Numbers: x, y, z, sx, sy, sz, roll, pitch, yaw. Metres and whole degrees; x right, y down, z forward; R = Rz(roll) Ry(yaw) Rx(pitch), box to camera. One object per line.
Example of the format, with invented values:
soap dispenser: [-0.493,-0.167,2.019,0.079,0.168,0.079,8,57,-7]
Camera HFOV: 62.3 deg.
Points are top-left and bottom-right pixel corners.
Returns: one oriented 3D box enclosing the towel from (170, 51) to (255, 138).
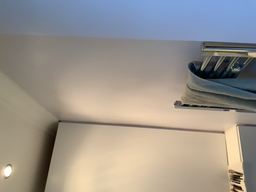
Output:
towel: [0.530,0.030,0.860,0.410,0.650,0.200,84,-170,-70]
